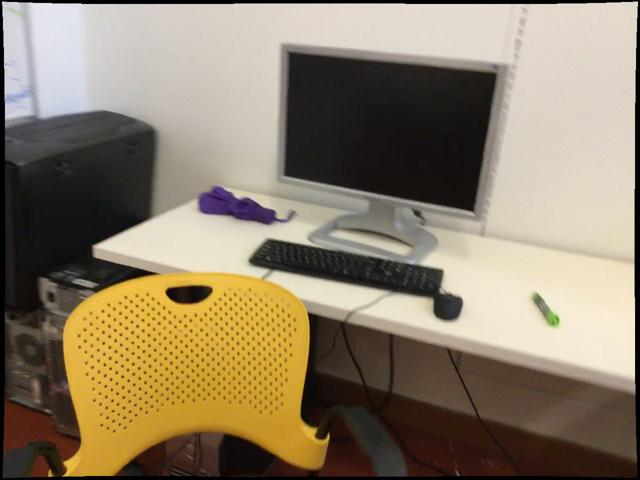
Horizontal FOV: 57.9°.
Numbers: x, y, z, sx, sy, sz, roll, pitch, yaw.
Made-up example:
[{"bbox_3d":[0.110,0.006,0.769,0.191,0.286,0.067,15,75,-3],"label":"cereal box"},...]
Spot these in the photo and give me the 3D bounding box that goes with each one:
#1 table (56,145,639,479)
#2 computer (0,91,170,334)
[{"bbox_3d":[0.200,0.320,1.600,1.619,0.761,0.670,14,25,18],"label":"table"},{"bbox_3d":[-0.799,-0.130,1.830,0.320,0.550,0.620,14,25,18],"label":"computer"}]
